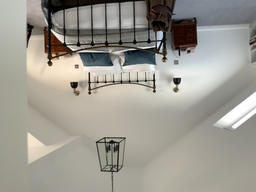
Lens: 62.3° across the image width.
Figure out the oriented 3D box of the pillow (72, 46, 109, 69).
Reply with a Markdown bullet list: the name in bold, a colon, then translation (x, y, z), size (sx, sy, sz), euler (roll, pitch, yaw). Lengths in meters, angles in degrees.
- **pillow**: translation (-0.630, -0.660, 3.690), size (0.580, 0.370, 0.150), euler (1, -131, 0)
